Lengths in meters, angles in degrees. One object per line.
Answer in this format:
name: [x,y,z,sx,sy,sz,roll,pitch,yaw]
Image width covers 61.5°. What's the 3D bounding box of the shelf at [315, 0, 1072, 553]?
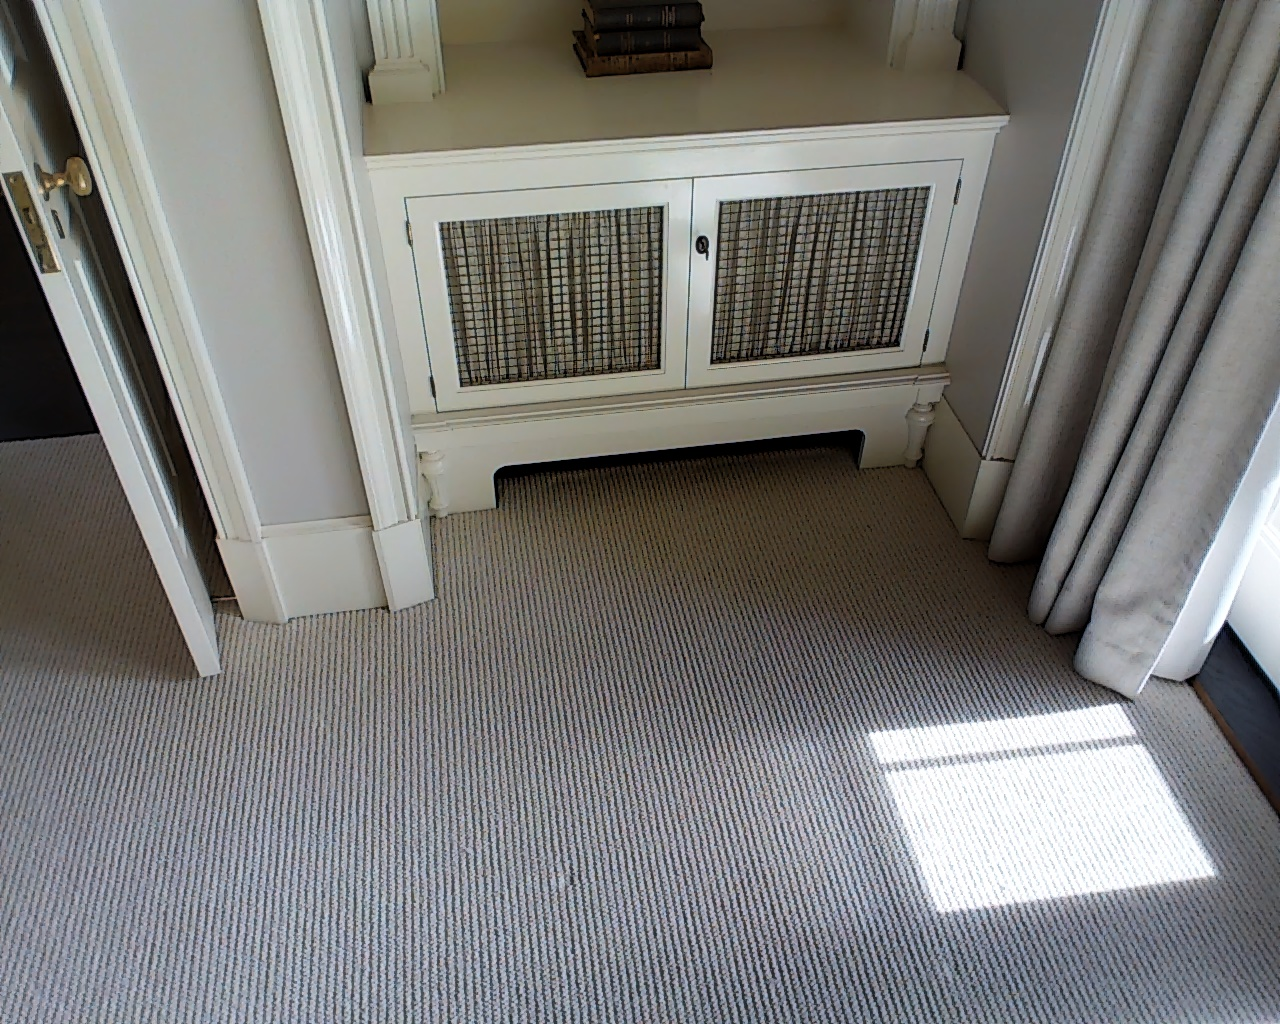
shelf: [0.060,-1.070,1.750,1.160,2.380,0.620,-7,42,-7]
